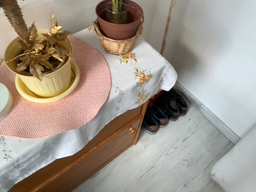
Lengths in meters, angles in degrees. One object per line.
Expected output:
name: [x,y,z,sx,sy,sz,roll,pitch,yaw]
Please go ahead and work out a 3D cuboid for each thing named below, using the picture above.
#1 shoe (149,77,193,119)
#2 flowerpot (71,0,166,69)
shoe: [0.300,0.010,1.500,0.180,0.080,0.240,-27,62,-20]
flowerpot: [-0.040,-0.250,0.700,0.180,0.120,0.260,-30,63,-22]
